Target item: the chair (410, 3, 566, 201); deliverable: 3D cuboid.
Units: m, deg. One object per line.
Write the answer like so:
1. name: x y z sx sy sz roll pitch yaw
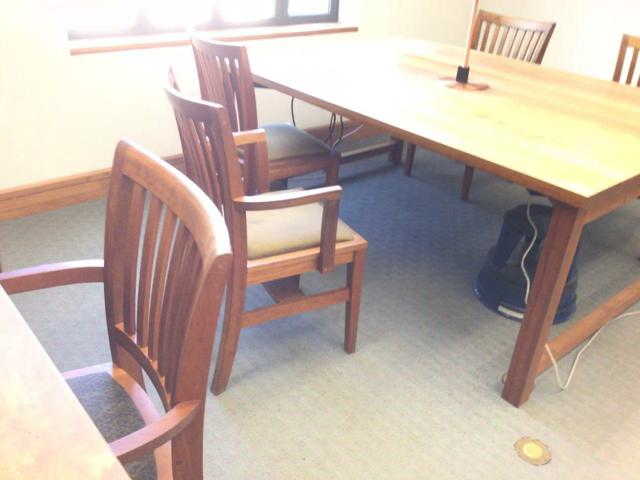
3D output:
1. chair: 0.910 -0.780 3.180 0.600 0.900 0.530 -23 29 -34

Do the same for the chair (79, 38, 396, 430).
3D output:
1. chair: -0.230 -0.090 1.870 0.630 0.950 0.700 -23 33 -33

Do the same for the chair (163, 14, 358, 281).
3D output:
1. chair: -0.230 -0.430 2.500 0.530 0.950 0.550 -23 33 -33
